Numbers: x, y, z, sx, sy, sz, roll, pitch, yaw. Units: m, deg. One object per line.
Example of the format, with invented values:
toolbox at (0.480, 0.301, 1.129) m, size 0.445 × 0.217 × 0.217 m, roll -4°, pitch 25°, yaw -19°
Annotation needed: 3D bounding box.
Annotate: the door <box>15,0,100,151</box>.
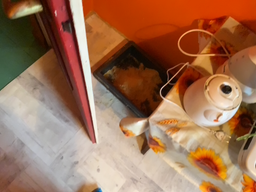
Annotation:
door at (-0.250, -0.360, 0.520) m, size 0.060 × 1.890 × 0.810 m, roll -20°, pitch 74°, yaw -13°
